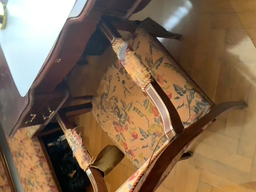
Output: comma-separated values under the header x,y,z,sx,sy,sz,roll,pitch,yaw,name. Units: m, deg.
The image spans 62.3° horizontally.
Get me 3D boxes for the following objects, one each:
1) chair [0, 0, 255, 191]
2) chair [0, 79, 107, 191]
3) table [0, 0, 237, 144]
x,y,z,sx,sy,sz,roll,pitch,yaw,name
0.020,0.080,0.910,0.610,1.000,0.590,50,125,24,chair
-0.970,0.660,1.870,0.670,1.000,1.460,-44,69,36,chair
-0.190,-0.400,1.150,1.180,0.800,0.660,-44,69,36,table
